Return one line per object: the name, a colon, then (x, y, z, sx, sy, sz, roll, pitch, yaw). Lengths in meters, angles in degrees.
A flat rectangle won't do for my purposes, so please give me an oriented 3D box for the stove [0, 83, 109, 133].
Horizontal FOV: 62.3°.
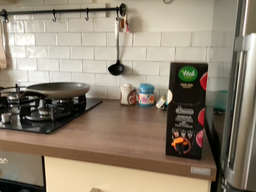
stove: (-0.460, 0.020, 1.010, 0.590, 0.050, 0.560, 4, 12, 13)
